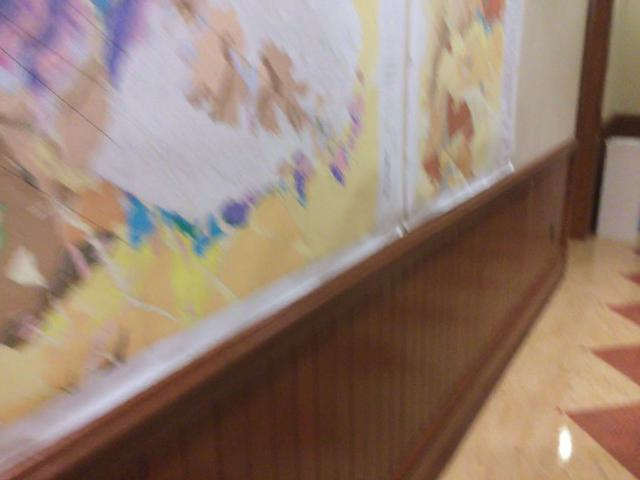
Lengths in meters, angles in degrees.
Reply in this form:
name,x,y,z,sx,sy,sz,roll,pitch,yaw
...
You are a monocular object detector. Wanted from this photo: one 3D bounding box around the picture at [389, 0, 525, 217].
name,x,y,z,sx,sy,sz,roll,pitch,yaw
picture,0.480,-0.540,1.850,0.050,0.760,1.000,11,18,31
